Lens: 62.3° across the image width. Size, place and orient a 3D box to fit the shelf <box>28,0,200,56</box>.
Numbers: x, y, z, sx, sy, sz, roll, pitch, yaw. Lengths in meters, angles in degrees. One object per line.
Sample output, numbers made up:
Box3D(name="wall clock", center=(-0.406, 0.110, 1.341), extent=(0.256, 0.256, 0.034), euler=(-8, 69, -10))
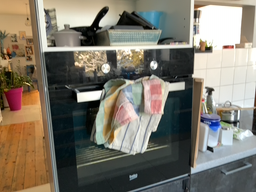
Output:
Box3D(name="shelf", center=(-0.110, -0.580, 0.960), extent=(0.650, 0.750, 0.540), euler=(-7, 14, -24))

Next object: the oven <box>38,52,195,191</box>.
Box3D(name="oven", center=(-0.100, 0.070, 1.090), extent=(0.590, 0.570, 0.570), euler=(-7, 14, -24))
